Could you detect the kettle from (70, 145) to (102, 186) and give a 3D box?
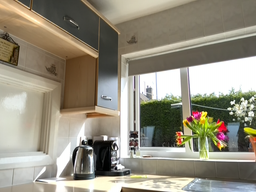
[{"bbox_3d":[-0.300,0.490,1.530,0.160,0.260,0.150,-9,-15,33],"label":"kettle"}]
